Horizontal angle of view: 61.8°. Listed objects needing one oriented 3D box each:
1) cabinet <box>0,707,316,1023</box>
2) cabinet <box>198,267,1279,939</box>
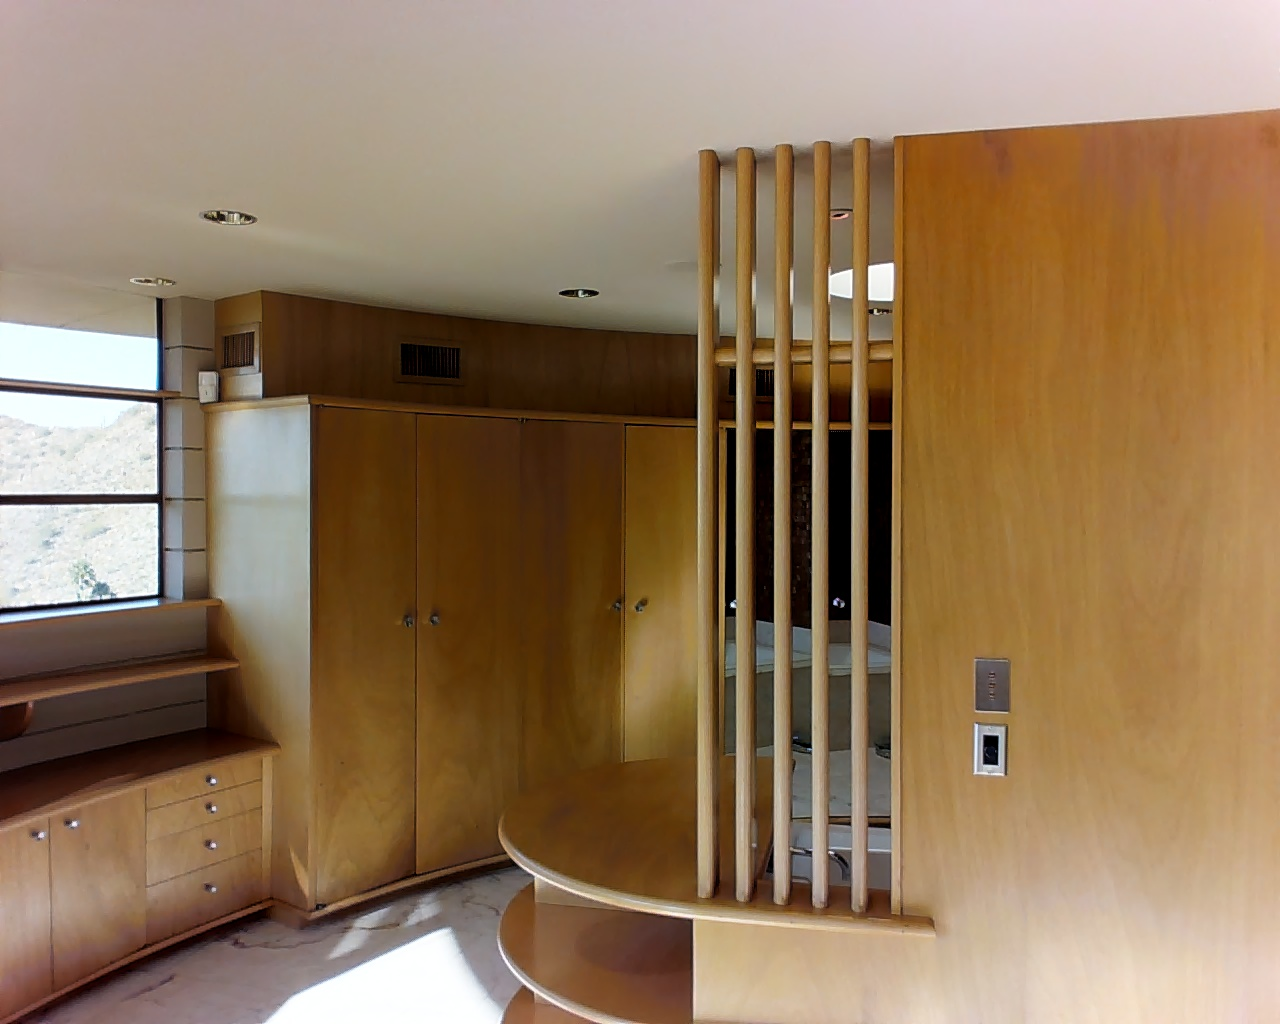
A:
[{"bbox_3d":[-1.790,1.180,3.680,0.590,0.740,1.260,0,1,25],"label":"cabinet"},{"bbox_3d":[0.830,0.310,4.880,5.069,2.461,1.310,0,1,-7],"label":"cabinet"}]
